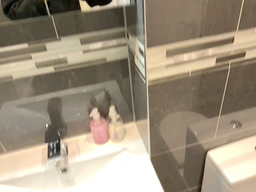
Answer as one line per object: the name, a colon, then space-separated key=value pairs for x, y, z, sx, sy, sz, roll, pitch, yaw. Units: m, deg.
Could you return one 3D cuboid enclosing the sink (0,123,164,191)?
sink: x=-0.220 y=0.350 z=0.740 sx=0.630 sy=0.150 sz=0.390 roll=-13 pitch=36 yaw=-9
